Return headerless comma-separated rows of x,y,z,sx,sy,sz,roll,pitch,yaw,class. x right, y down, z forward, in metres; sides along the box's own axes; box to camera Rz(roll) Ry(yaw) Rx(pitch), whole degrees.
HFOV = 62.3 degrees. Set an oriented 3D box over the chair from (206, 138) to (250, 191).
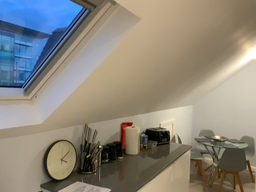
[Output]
1.540,1.130,3.320,0.460,0.810,0.520,3,2,10,chair
